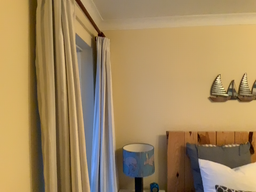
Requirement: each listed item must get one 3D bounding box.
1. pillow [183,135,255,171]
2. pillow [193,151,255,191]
[{"bbox_3d":[0.830,0.530,1.990,0.560,0.270,0.130,-4,-53,2],"label":"pillow"},{"bbox_3d":[0.860,0.650,1.760,0.520,0.380,0.160,-4,-69,1],"label":"pillow"}]
